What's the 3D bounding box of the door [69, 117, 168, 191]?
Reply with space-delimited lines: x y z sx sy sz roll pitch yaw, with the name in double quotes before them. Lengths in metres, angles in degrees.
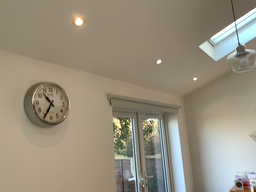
"door" 0.030 1.280 3.130 0.100 1.910 2.040 -11 -12 37
